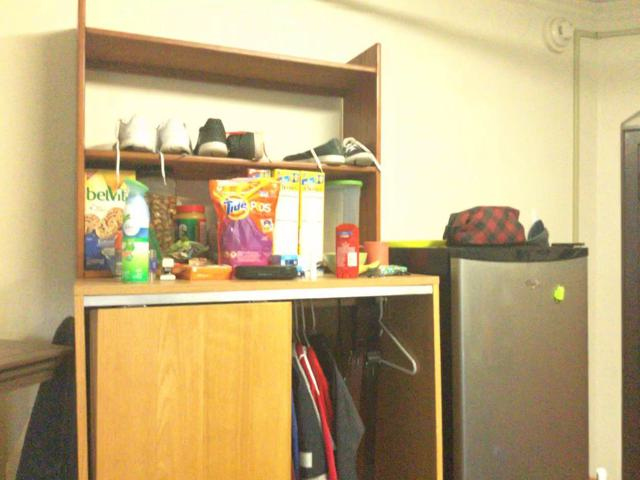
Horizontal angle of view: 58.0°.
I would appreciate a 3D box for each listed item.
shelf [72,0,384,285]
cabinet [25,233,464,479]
[{"bbox_3d":[-0.250,-0.260,1.720,0.880,0.740,0.200,-1,-1,-25],"label":"shelf"},{"bbox_3d":[-0.220,0.770,1.570,0.980,1.560,0.670,0,-1,-22],"label":"cabinet"}]
